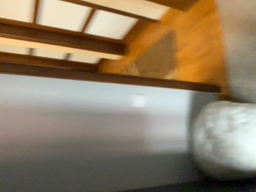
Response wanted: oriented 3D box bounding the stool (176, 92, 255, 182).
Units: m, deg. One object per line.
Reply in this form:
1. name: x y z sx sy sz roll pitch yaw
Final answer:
1. stool: 0.620 0.250 1.300 0.430 0.410 0.430 -29 61 60
